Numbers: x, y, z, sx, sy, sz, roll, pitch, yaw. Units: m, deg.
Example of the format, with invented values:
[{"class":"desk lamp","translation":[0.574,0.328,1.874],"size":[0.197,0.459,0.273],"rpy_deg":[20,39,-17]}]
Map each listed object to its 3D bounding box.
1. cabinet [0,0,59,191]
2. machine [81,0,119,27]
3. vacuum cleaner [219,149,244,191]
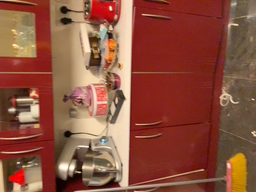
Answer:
[{"class":"cabinet","translation":[-0.890,-0.140,1.180],"size":[0.390,0.890,1.610],"rpy_deg":[-158,68,-65]},{"class":"machine","translation":[-0.190,-0.620,1.390],"size":[0.270,0.180,0.280],"rpy_deg":[-153,63,-64]},{"class":"vacuum cleaner","translation":[0.790,0.630,1.620],"size":[0.140,0.080,0.410],"rpy_deg":[180,87,-67]}]
